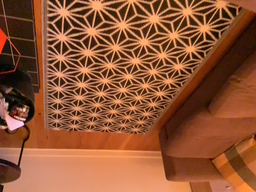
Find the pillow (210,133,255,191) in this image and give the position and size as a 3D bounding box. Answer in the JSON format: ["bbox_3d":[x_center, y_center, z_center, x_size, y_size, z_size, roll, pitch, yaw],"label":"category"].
[{"bbox_3d":[1.160,0.690,2.070,0.180,0.490,0.500,-18,160,-30],"label":"pillow"}]
